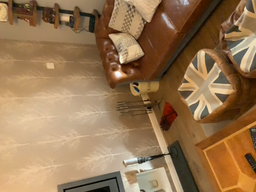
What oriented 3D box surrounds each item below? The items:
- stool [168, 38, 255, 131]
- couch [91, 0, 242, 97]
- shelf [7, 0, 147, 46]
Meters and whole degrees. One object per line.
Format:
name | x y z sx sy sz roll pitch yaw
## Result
stool | 0.710 -0.080 1.720 0.540 0.390 0.480 -59 43 47
couch | 0.290 -0.900 2.070 1.810 0.720 0.950 -57 44 49
shelf | -0.580 -0.910 2.720 0.420 1.660 0.180 -55 46 50
